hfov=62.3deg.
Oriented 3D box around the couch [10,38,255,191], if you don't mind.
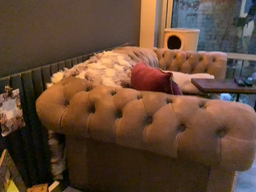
[{"bbox_3d":[0.220,0.110,1.560,0.900,0.870,1.610,9,22,18],"label":"couch"}]
